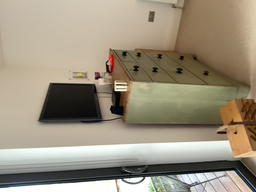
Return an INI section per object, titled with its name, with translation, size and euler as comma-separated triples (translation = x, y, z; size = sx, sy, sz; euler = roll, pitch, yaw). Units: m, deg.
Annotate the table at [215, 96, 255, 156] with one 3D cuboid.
[table]
translation = 1.000, 0.250, 1.750
size = 0.260, 0.340, 0.420
euler = 120, 148, -63
